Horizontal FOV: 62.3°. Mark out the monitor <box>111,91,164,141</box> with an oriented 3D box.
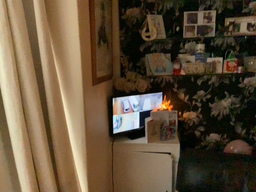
[{"bbox_3d":[0.100,0.160,1.850,0.540,0.360,0.020,-7,11,-31],"label":"monitor"}]
